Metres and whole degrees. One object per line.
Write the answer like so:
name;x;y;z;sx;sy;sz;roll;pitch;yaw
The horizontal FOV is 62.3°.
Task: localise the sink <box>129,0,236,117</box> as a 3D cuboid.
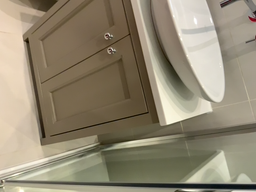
sink;0.190;-0.250;0.750;0.400;0.120;0.590;-4;80;-51
